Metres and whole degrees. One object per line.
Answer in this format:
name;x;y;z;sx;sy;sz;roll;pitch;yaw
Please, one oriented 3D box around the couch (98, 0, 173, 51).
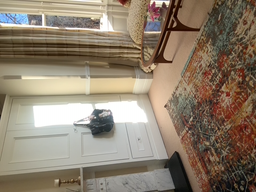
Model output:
couch;0.110;-1.490;2.810;1.620;0.820;0.710;105;158;-46
